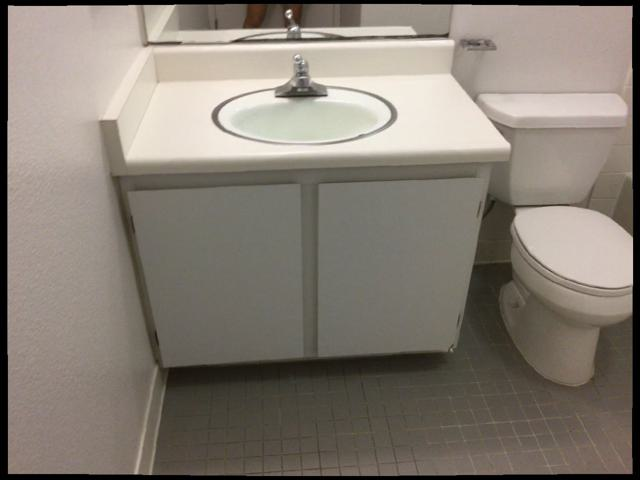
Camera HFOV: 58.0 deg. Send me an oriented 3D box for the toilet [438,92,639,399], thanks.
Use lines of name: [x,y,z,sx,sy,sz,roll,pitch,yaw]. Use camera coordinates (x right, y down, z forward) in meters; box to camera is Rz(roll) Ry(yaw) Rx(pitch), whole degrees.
toilet: [0.788,-0.010,1.880,0.539,0.691,0.710,-2,36,-5]
